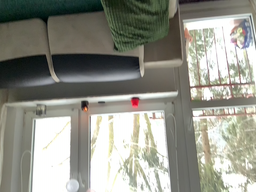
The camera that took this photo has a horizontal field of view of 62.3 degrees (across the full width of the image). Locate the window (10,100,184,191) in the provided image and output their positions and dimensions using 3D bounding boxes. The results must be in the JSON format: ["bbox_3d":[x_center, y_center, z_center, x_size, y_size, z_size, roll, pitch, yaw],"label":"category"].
[{"bbox_3d":[-0.280,0.860,1.850,1.490,1.560,0.170,-3,168,6],"label":"window"}]
